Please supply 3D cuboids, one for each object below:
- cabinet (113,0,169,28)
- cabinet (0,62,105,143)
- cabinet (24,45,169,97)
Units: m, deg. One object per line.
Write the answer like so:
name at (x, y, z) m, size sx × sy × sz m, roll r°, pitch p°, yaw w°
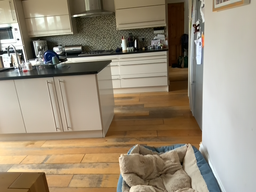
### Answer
cabinet at (0.270, -1.850, 4.300) m, size 1.080 × 0.810 × 0.360 m, roll -2°, pitch 17°, yaw 7°
cabinet at (-1.370, 0.100, 2.820) m, size 1.990 × 0.910 × 0.450 m, roll -2°, pitch 18°, yaw 6°
cabinet at (-0.640, -0.550, 4.740) m, size 3.010 × 0.900 × 0.640 m, roll -2°, pitch 17°, yaw 7°
